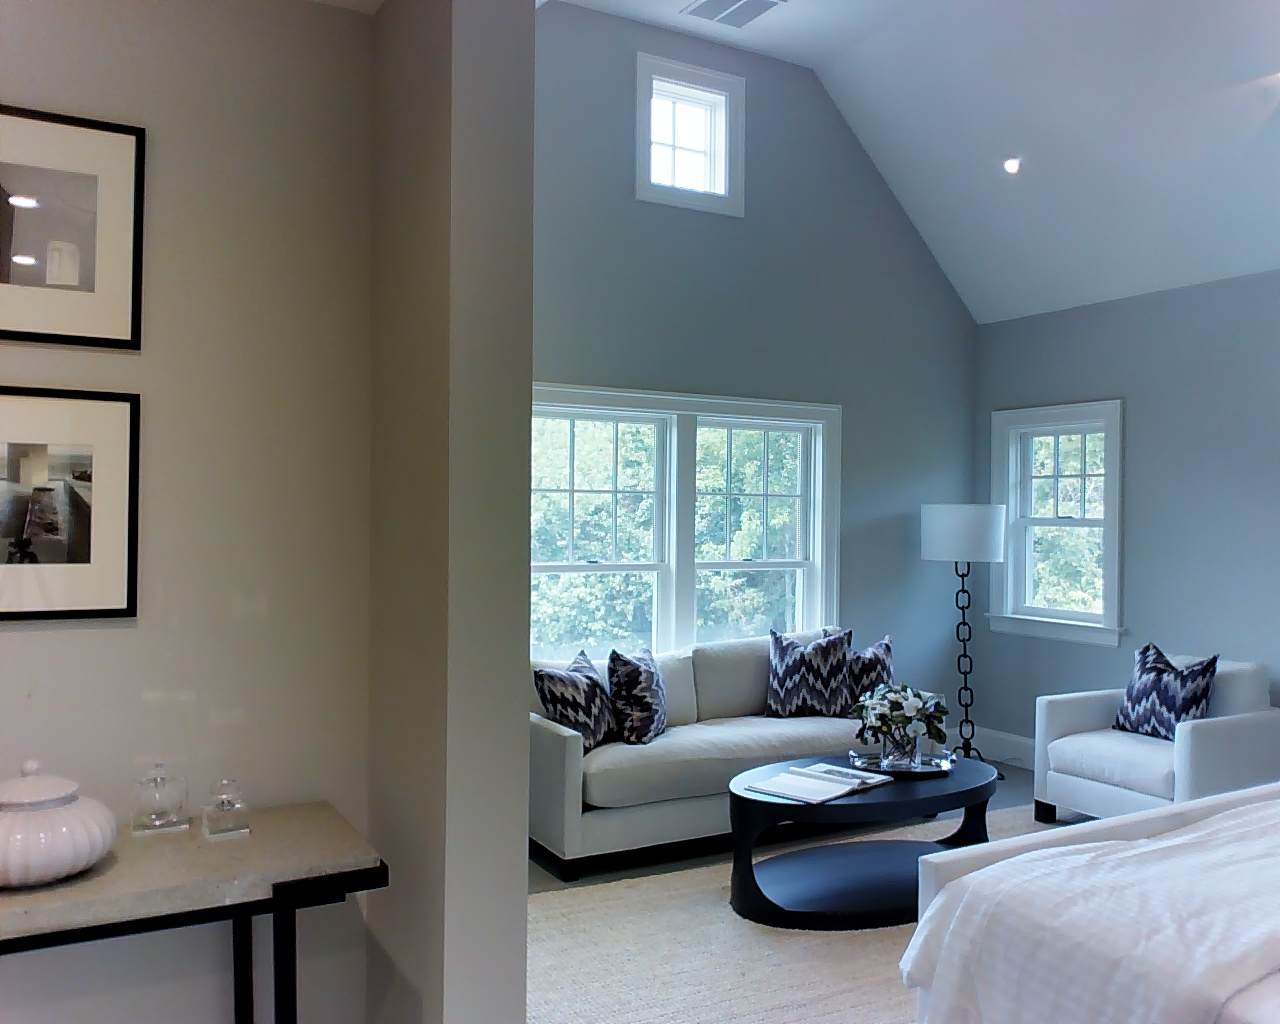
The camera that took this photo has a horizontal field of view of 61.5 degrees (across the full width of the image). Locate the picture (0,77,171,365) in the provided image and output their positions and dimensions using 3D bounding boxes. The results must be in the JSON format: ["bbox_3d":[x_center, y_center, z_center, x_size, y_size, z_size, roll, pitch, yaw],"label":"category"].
[{"bbox_3d":[-1.280,-0.620,2.290,0.510,0.570,0.030,1,0,-30],"label":"picture"}]

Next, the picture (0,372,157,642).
[{"bbox_3d":[-1.280,-0.010,2.280,0.460,0.560,0.030,1,0,-30],"label":"picture"}]
